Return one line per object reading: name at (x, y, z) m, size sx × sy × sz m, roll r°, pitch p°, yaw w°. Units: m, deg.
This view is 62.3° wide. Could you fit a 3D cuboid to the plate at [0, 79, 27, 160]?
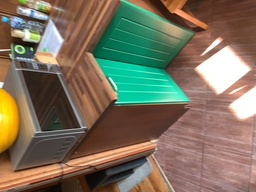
plate at (-0.560, 0.100, 0.930) m, size 0.270 × 0.090 × 0.230 m, roll 53°, pitch 123°, yaw 29°
